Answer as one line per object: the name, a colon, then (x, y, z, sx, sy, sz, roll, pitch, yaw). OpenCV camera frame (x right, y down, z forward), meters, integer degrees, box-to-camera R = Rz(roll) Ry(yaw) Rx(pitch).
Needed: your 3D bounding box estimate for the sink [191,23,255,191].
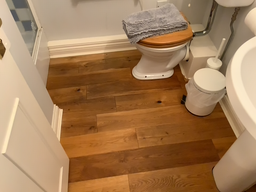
sink: (0.540, 0.020, 0.690, 0.450, 0.210, 0.590, -6, 52, -5)
